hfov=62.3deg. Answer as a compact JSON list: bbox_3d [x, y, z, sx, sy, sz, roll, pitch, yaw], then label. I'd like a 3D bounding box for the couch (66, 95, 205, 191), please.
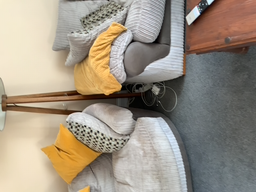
[{"bbox_3d":[-0.050,0.760,1.880,1.250,0.700,1.340,-20,73,62],"label":"couch"}]

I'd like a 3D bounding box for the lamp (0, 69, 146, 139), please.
[{"bbox_3d":[-0.660,0.060,1.970,0.420,1.680,0.520,-3,88,62],"label":"lamp"}]

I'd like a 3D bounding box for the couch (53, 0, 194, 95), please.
[{"bbox_3d":[-0.140,-0.560,1.860,1.090,0.850,1.050,7,96,63],"label":"couch"}]
